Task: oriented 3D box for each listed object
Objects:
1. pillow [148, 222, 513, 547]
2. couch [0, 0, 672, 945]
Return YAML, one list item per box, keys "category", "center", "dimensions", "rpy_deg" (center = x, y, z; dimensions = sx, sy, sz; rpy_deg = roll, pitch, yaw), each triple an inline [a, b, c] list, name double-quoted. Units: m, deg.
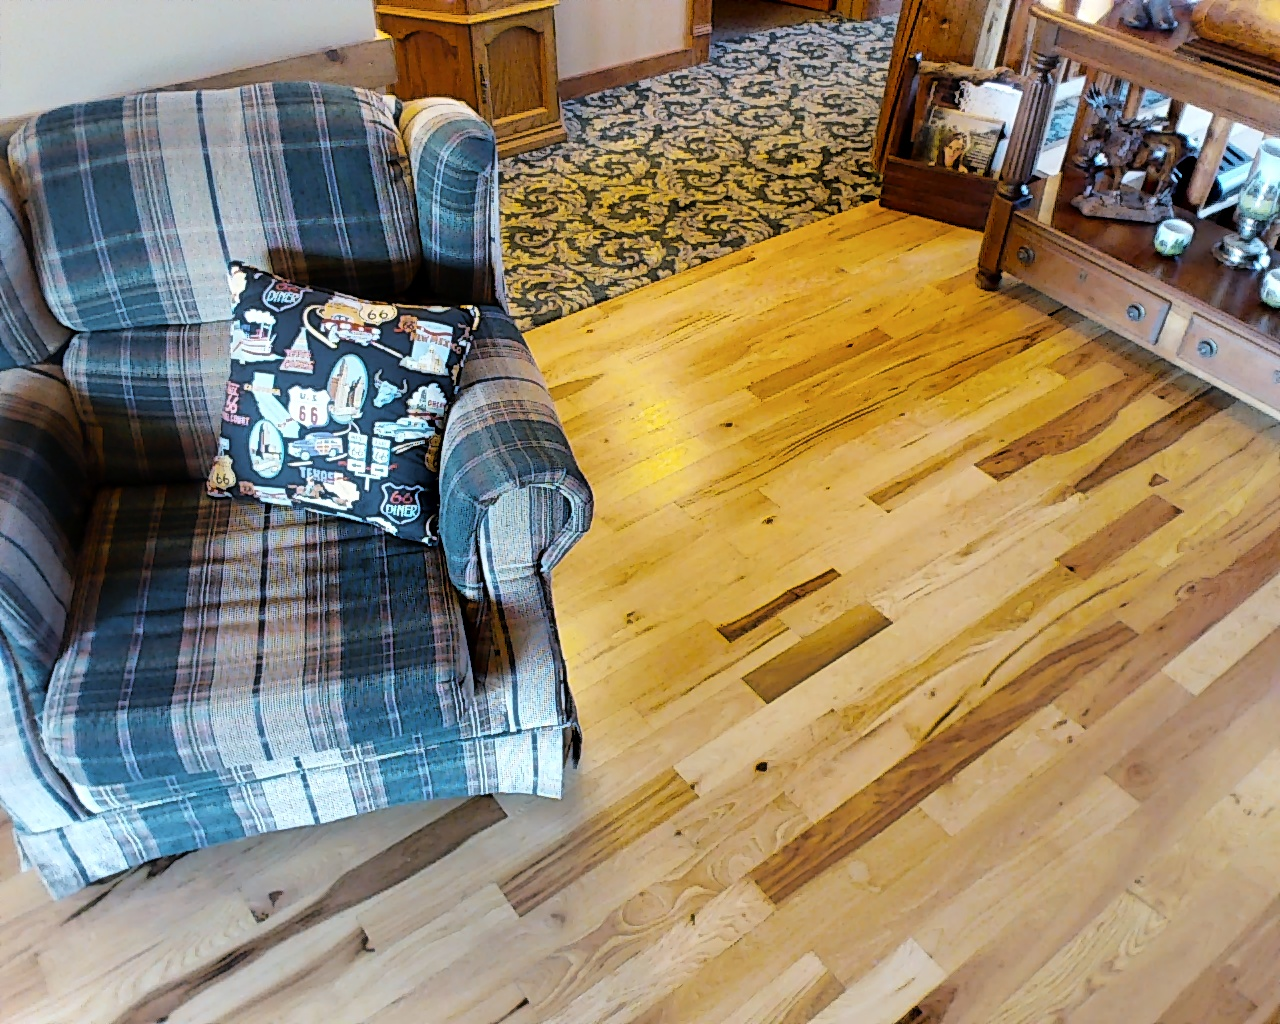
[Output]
- category: "pillow"
  center: [-0.470, -0.170, 1.650]
  dimensions: [0.440, 0.380, 0.200]
  rpy_deg: [21, 65, -10]
- category: "couch"
  center: [-0.630, -0.170, 1.720]
  dimensions: [1.110, 0.930, 1.200]
  rpy_deg: [-7, 43, -8]
